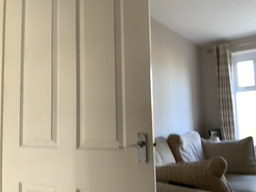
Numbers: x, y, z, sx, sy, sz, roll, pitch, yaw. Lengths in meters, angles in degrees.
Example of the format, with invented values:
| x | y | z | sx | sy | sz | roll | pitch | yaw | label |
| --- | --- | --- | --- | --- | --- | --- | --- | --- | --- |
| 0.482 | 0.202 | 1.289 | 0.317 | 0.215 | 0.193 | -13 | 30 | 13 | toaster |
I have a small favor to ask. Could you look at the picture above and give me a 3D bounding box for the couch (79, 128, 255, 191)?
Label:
| x | y | z | sx | sy | sz | roll | pitch | yaw | label |
| --- | --- | --- | --- | --- | --- | --- | --- | --- | --- |
| 0.660 | 0.820 | 1.980 | 0.970 | 0.860 | 2.000 | -5 | -6 | 39 | couch |
